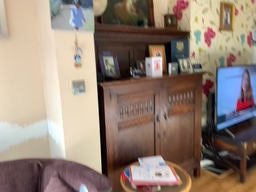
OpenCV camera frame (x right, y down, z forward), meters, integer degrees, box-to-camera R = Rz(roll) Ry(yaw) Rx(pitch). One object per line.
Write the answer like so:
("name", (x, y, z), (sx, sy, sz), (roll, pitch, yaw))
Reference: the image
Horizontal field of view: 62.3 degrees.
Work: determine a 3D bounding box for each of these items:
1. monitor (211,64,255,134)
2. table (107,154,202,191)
("monitor", (1.450, -0.010, 2.740), (1.200, 0.750, 0.050), (-9, 13, -36))
("table", (0.200, 0.850, 1.690), (0.510, 0.490, 0.520), (-9, 13, -36))
